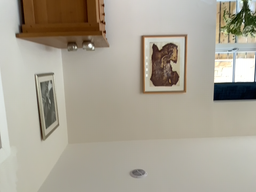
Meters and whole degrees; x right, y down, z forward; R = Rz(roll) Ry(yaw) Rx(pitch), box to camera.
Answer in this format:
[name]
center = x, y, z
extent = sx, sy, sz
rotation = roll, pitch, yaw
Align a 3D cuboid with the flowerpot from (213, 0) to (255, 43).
[flowerpot]
center = 1.330, -0.940, 2.610
extent = 0.410, 0.520, 0.330
rotation = -1, -171, -2
